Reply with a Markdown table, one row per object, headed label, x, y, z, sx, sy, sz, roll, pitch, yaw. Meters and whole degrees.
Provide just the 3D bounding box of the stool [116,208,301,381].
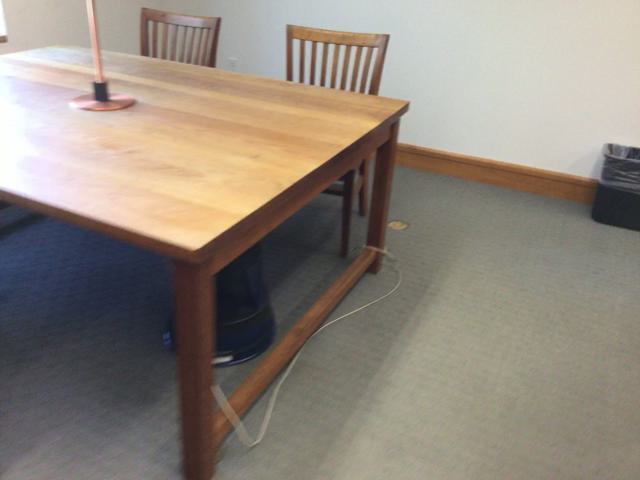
| label | x | y | z | sx | sy | sz | roll | pitch | yaw |
| --- | --- | --- | --- | --- | --- | --- | --- | --- | --- |
| stool | -0.370 | 0.170 | 2.070 | 0.450 | 0.370 | 0.430 | 10 | 30 | 21 |
